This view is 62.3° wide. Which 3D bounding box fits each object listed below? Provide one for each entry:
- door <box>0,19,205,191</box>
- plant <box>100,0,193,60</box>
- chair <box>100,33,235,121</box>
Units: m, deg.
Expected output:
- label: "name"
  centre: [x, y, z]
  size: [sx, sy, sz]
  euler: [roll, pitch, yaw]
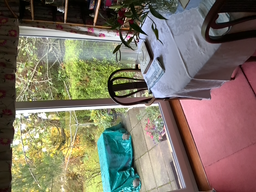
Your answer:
- label: "door"
  centre: [-0.420, 0.070, 2.640]
  size: [0.130, 2.190, 2.470]
  euler: [121, 142, -53]
- label: "plant"
  centre: [0.080, -0.520, 1.370]
  size: [0.320, 0.400, 0.470]
  euler: [115, 146, -48]
- label: "chair"
  centre: [0.330, -0.160, 2.020]
  size: [0.540, 1.020, 0.540]
  euler: [119, 144, -51]
